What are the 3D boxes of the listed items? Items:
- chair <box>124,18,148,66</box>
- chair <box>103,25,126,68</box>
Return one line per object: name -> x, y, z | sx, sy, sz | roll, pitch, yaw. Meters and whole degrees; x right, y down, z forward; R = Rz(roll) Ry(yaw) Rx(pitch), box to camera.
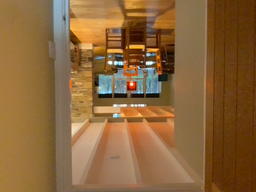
chair -> 0.160, -1.130, 4.570 | 0.450, 0.930, 0.500 | -1, -177, -5
chair -> -0.320, -1.150, 5.060 | 0.500, 0.930, 0.450 | -1, -177, -4
